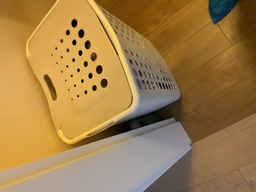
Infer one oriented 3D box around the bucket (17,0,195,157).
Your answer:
[{"bbox_3d":[-0.040,-0.100,0.900,0.320,0.580,0.480,-32,75,26],"label":"bucket"}]
